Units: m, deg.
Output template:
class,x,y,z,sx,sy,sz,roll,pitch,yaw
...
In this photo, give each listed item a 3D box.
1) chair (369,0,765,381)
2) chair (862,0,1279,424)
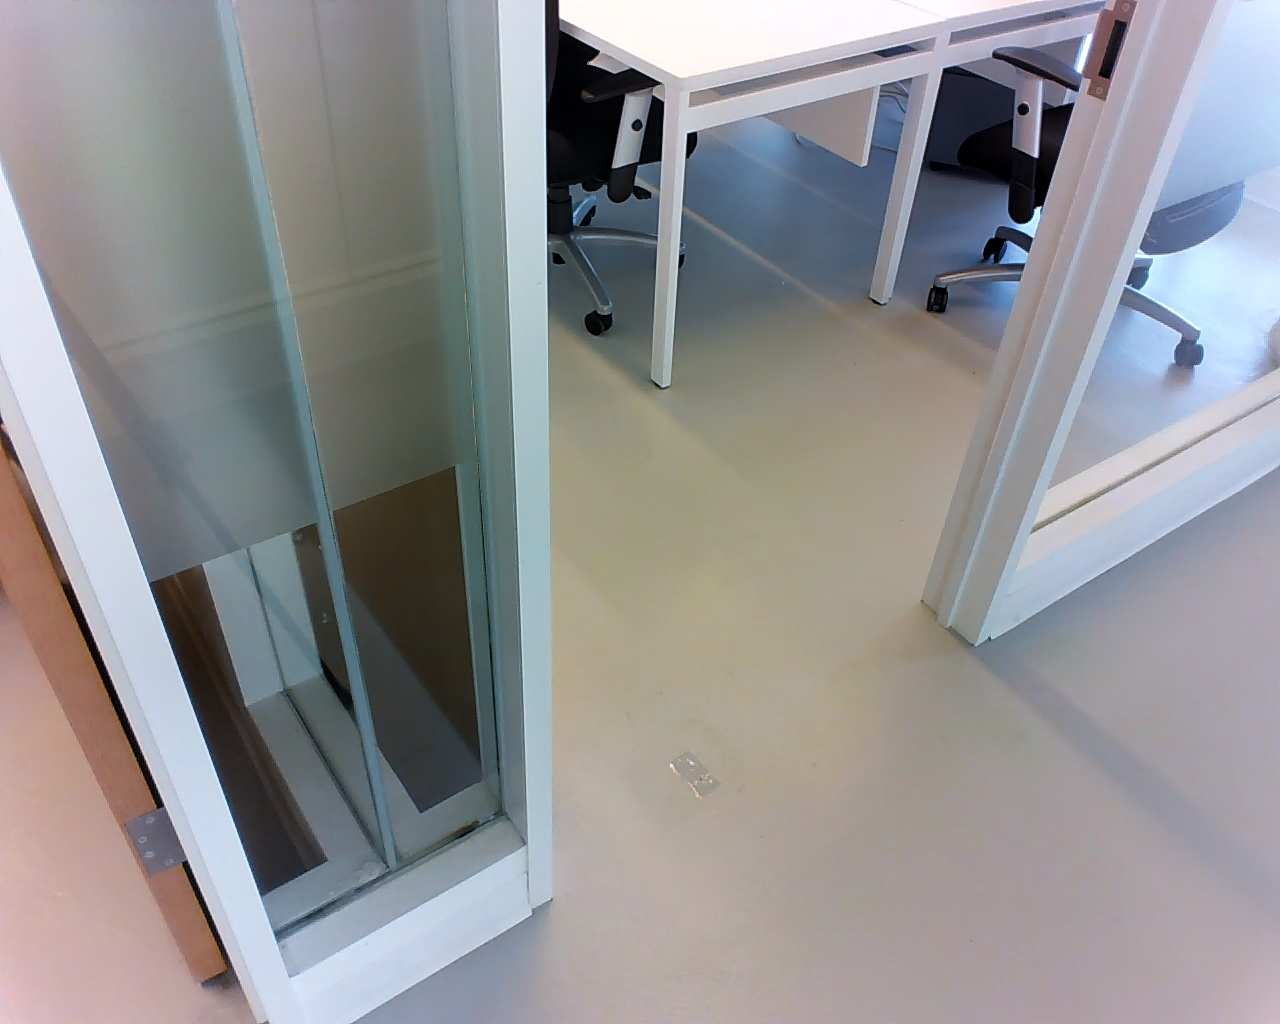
class,x,y,z,sx,sy,sz,roll,pitch,yaw
chair,-0.190,-1.000,2.610,0.650,1.010,0.670,-24,48,-27
chair,1.160,-0.930,2.600,0.750,1.010,0.750,-23,47,-26
